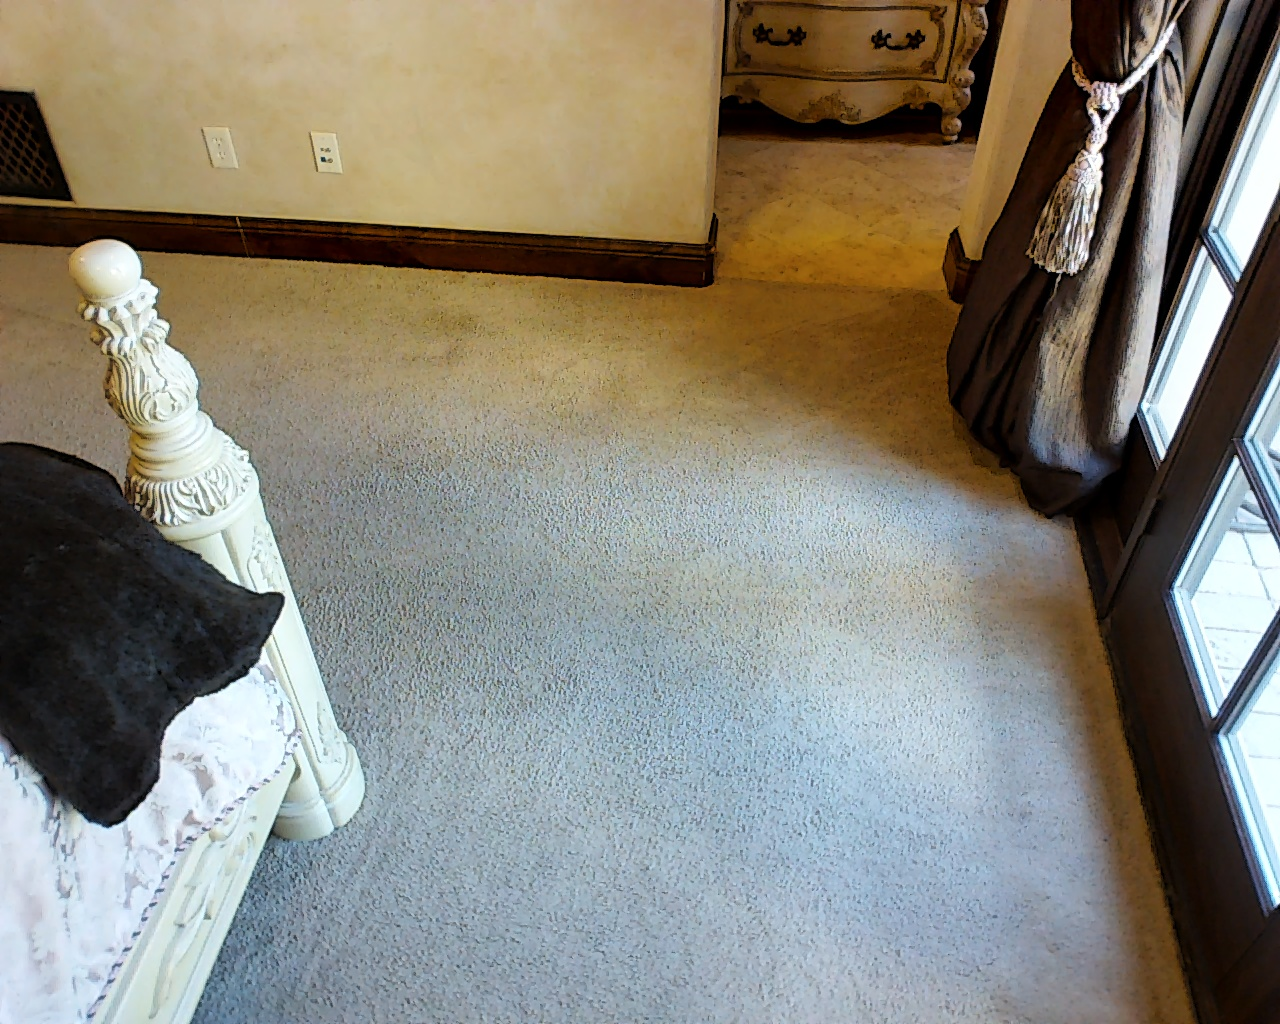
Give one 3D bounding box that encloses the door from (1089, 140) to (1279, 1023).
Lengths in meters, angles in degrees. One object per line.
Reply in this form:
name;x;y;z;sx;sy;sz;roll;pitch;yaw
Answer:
door;0.900;-0.370;1.010;0.090;2.350;0.940;4;43;4
